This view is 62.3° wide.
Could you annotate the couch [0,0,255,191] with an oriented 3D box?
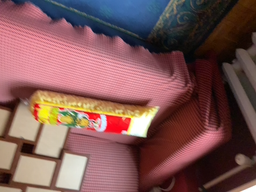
[{"bbox_3d":[-0.370,0.140,1.170,1.450,0.830,1.030,16,135,-19],"label":"couch"}]
